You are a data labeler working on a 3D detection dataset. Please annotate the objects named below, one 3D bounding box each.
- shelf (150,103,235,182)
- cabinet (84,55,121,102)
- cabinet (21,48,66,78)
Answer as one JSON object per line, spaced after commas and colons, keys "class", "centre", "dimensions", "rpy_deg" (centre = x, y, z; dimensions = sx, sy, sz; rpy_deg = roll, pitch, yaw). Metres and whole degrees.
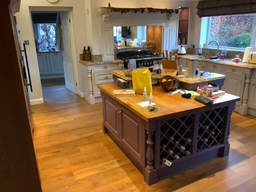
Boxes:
{"class": "shelf", "centre": [0.730, 0.490, 2.350], "dimensions": [1.050, 0.690, 0.070], "rpy_deg": [-8, 19, -23]}
{"class": "cabinet", "centre": [-0.590, -0.420, 4.830], "dimensions": [0.640, 0.900, 0.620], "rpy_deg": [-8, 20, -25]}
{"class": "cabinet", "centre": [-2.800, -1.140, 7.170], "dimensions": [1.260, 0.880, 0.520], "rpy_deg": [-5, 18, -15]}
